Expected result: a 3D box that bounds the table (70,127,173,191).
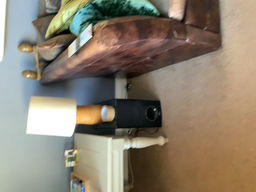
[{"bbox_3d":[-0.070,0.510,1.530,0.580,0.510,0.520,-8,80,56],"label":"table"}]
